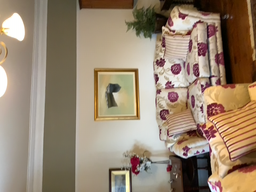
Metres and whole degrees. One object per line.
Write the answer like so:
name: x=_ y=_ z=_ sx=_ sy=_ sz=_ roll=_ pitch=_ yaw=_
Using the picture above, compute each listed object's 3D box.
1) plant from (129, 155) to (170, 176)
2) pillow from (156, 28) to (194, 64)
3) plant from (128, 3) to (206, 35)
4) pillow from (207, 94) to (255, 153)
plant: x=0.340 y=1.120 z=3.450 sx=0.240 sy=0.630 sz=0.260 roll=119 pitch=149 yaw=-80
pillow: x=0.730 y=-0.760 z=3.290 sx=0.420 sy=0.410 sz=0.150 roll=-59 pitch=44 yaw=22
plant: x=0.660 y=-1.350 z=3.760 sx=0.360 sy=1.290 sz=0.410 roll=119 pitch=149 yaw=-80
pillow: x=0.860 y=0.190 z=1.570 sx=0.110 sy=0.380 sz=0.430 roll=-56 pitch=44 yaw=34
